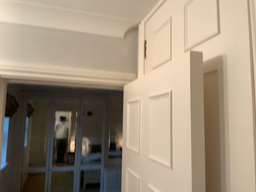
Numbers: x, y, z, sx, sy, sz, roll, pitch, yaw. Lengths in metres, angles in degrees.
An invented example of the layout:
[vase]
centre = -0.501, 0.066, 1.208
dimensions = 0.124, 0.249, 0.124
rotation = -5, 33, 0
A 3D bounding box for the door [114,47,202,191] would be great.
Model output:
[door]
centre = 0.050, 0.870, 0.840
dimensions = 0.040, 1.950, 0.740
rotation = 3, -6, -18
